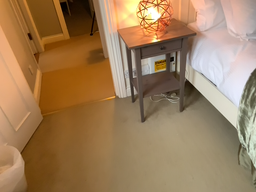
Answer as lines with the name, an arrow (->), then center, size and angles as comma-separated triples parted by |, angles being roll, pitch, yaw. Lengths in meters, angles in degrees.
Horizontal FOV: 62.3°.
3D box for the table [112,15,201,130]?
table -> 0.210, -0.190, 1.710 | 0.490, 0.690, 0.450 | -16, 38, -10
